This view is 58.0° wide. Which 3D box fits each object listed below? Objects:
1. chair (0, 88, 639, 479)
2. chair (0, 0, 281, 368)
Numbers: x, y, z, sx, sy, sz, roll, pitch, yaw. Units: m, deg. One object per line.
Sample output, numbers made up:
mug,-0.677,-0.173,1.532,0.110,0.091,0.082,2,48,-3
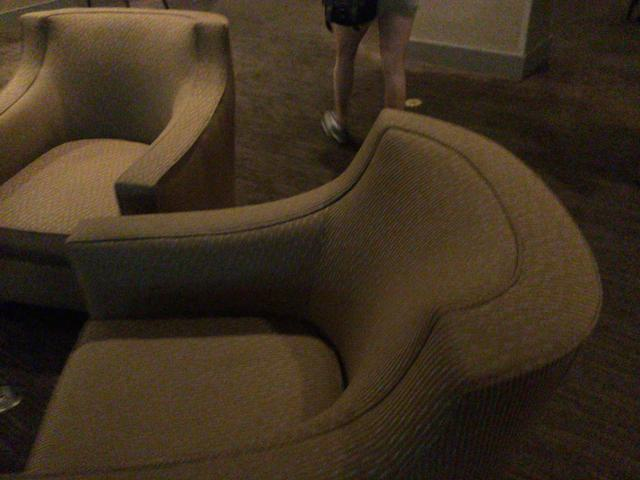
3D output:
chair,-0.080,0.270,1.150,1.080,0.840,0.870,-3,34,-4
chair,-0.770,-0.290,2.000,1.030,0.830,1.030,5,34,8
